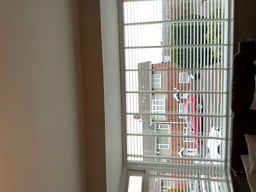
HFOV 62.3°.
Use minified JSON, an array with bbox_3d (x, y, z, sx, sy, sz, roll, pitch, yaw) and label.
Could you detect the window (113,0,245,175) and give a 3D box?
[{"bbox_3d":[0.650,-0.300,2.950,0.320,1.620,2.710,-40,-51,-78],"label":"window"}]
